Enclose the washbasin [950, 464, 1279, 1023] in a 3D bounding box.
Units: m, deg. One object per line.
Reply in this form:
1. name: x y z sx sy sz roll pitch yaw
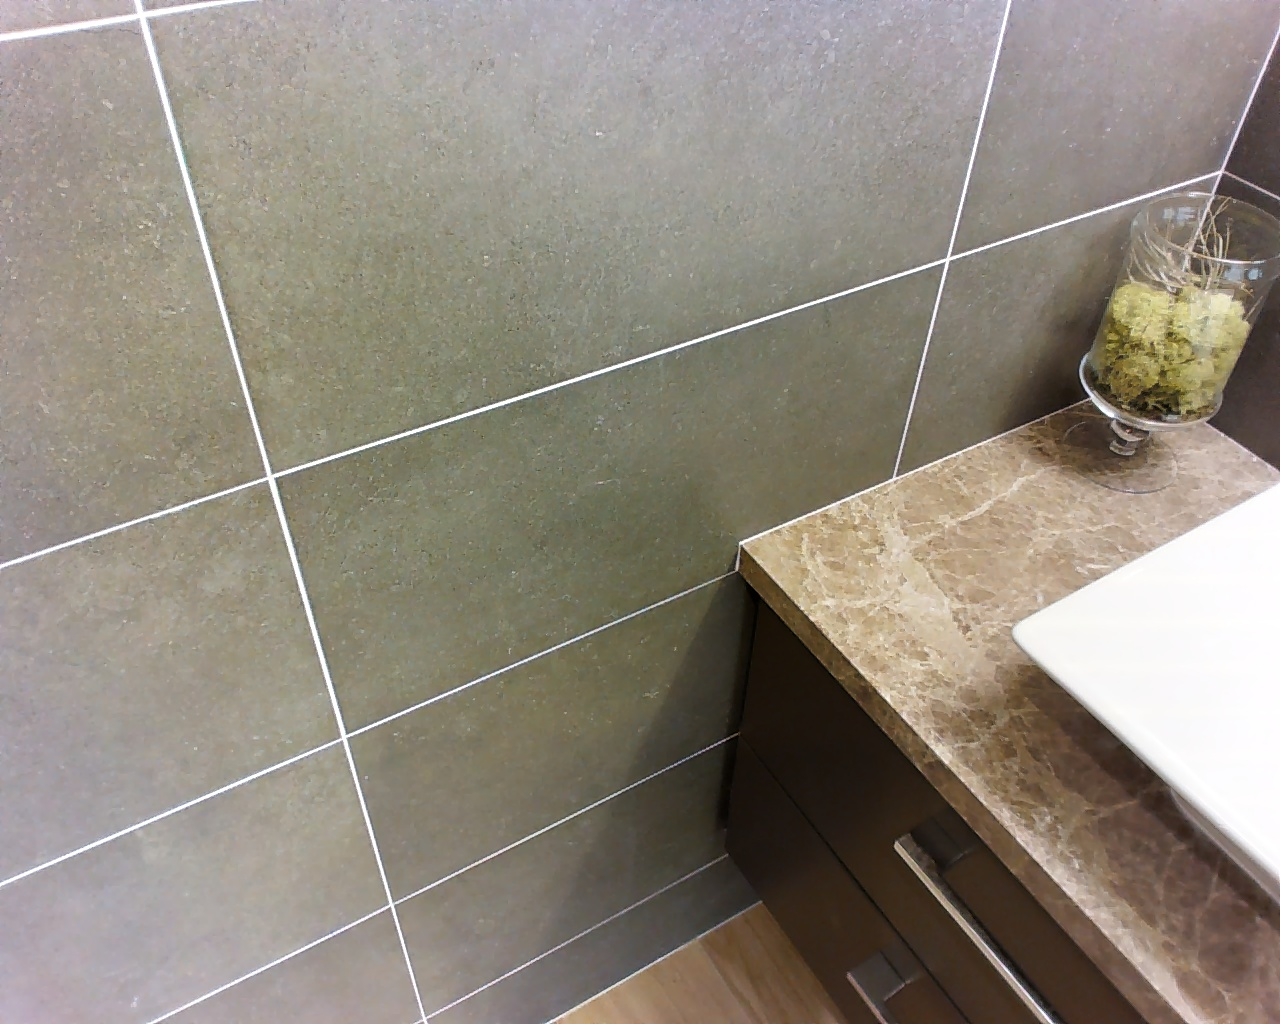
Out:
1. washbasin: 0.580 0.240 0.770 0.380 0.150 0.580 -22 48 -22
